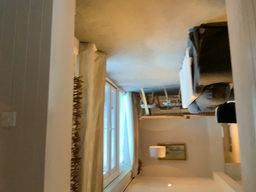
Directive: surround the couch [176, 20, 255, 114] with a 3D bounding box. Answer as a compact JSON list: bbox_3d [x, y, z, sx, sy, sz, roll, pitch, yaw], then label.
[{"bbox_3d":[1.270,-0.210,3.050,0.970,0.800,2.010,-2,171,8],"label":"couch"}]
